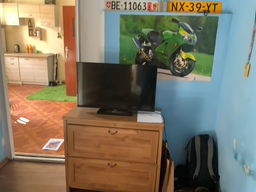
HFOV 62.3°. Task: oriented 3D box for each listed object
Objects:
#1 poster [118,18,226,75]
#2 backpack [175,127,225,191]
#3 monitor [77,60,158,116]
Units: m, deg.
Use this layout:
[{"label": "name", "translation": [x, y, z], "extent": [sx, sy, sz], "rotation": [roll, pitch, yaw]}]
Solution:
[{"label": "poster", "translation": [0.400, -0.470, 2.040], "extent": [0.970, 0.470, 0.080], "rotation": [3, 16, 1]}, {"label": "backpack", "translation": [0.690, 0.660, 2.120], "extent": [0.320, 0.570, 0.360], "rotation": [4, 16, 2]}, {"label": "monitor", "translation": [-0.110, -0.070, 1.920], "extent": [0.710, 0.440, 0.040], "rotation": [6, 16, 5]}]
